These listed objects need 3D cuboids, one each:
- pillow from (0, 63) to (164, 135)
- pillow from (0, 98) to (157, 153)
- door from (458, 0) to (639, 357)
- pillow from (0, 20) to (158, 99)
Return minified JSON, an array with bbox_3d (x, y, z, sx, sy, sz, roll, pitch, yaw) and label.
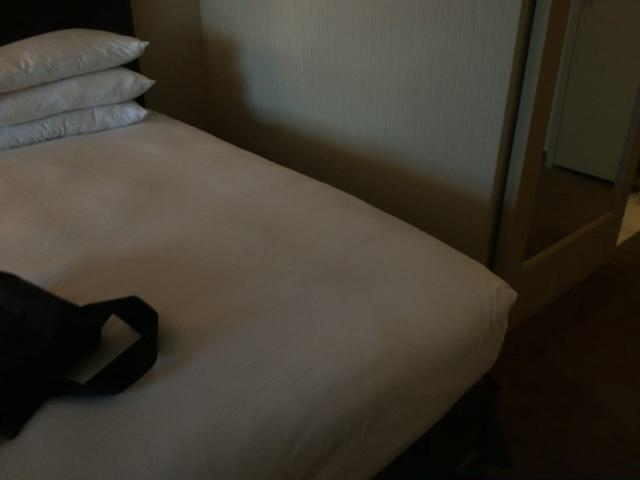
[{"bbox_3d":[-0.880,-0.510,2.060,0.630,0.150,0.120,-21,33,-37],"label":"pillow"},{"bbox_3d":[-0.870,-0.420,2.080,0.550,0.080,0.110,-21,33,-37],"label":"pillow"},{"bbox_3d":[0.980,-0.690,1.960,1.090,2.010,0.200,-21,33,-37],"label":"door"},{"bbox_3d":[-0.980,-0.680,2.130,0.600,0.180,0.410,-21,33,-37],"label":"pillow"}]
